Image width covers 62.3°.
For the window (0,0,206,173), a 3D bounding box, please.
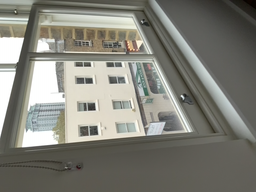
[{"bbox_3d":[-0.460,-0.190,0.970,0.050,1.300,1.090,103,159,-45],"label":"window"}]
